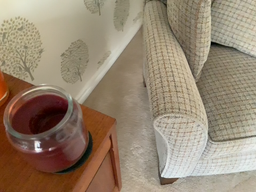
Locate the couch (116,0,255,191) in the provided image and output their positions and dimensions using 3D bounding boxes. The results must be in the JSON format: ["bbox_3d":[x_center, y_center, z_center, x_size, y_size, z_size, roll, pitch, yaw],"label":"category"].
[{"bbox_3d":[0.400,-0.230,0.980,0.760,0.820,0.940,-9,52,-8],"label":"couch"}]
